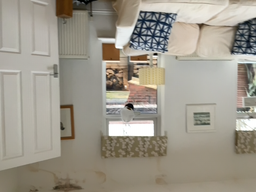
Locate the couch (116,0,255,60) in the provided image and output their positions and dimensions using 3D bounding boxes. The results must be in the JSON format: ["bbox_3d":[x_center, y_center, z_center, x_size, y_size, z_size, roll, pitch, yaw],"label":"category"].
[{"bbox_3d":[0.800,-0.890,2.580,1.840,0.750,1.070,0,-177,-6],"label":"couch"}]

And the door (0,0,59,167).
[{"bbox_3d":[-1.110,-0.300,2.280,0.740,2.010,0.040,-3,-176,-45],"label":"door"}]
